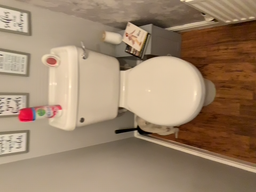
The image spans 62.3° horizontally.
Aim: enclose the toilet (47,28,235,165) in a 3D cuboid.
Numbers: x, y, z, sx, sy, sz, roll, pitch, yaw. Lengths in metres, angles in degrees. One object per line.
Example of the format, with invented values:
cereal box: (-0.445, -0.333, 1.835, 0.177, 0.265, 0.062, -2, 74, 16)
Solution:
toilet: (0.080, -0.030, 1.200, 0.690, 0.790, 0.440, 7, 96, 45)
